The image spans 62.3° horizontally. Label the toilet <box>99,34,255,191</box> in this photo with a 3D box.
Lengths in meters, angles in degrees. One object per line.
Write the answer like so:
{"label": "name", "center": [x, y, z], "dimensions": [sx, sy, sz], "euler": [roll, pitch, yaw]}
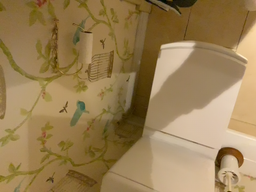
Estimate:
{"label": "toilet", "center": [0.270, 0.060, 0.980], "dimensions": [0.390, 0.820, 0.600], "euler": [17, 111, 18]}
